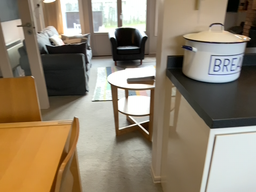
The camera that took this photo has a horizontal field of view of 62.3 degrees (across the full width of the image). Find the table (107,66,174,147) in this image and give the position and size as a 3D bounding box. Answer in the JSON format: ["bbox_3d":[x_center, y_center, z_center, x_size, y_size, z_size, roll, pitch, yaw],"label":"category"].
[{"bbox_3d":[0.090,0.080,2.180,0.570,0.620,0.580,-2,25,-3],"label":"table"}]
